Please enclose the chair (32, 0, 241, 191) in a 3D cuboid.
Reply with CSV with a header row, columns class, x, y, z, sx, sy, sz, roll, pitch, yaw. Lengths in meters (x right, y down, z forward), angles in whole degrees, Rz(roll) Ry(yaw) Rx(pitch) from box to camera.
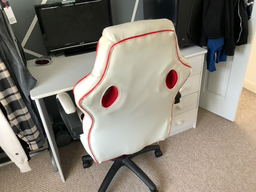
class,x,y,z,sx,sy,sz,roll,pitch,yaw
chair,-0.020,0.050,1.190,0.640,1.230,0.720,-16,34,-18
